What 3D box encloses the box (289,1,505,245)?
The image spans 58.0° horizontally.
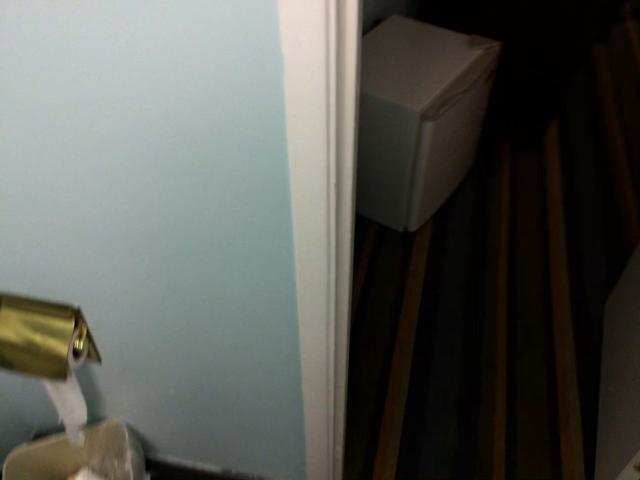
[{"bbox_3d":[0.270,-0.400,1.890,0.560,0.470,0.610,8,47,11],"label":"box"}]

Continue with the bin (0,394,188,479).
[{"bbox_3d":[-0.490,0.510,1.150,0.340,0.280,0.230,8,47,11],"label":"bin"}]
